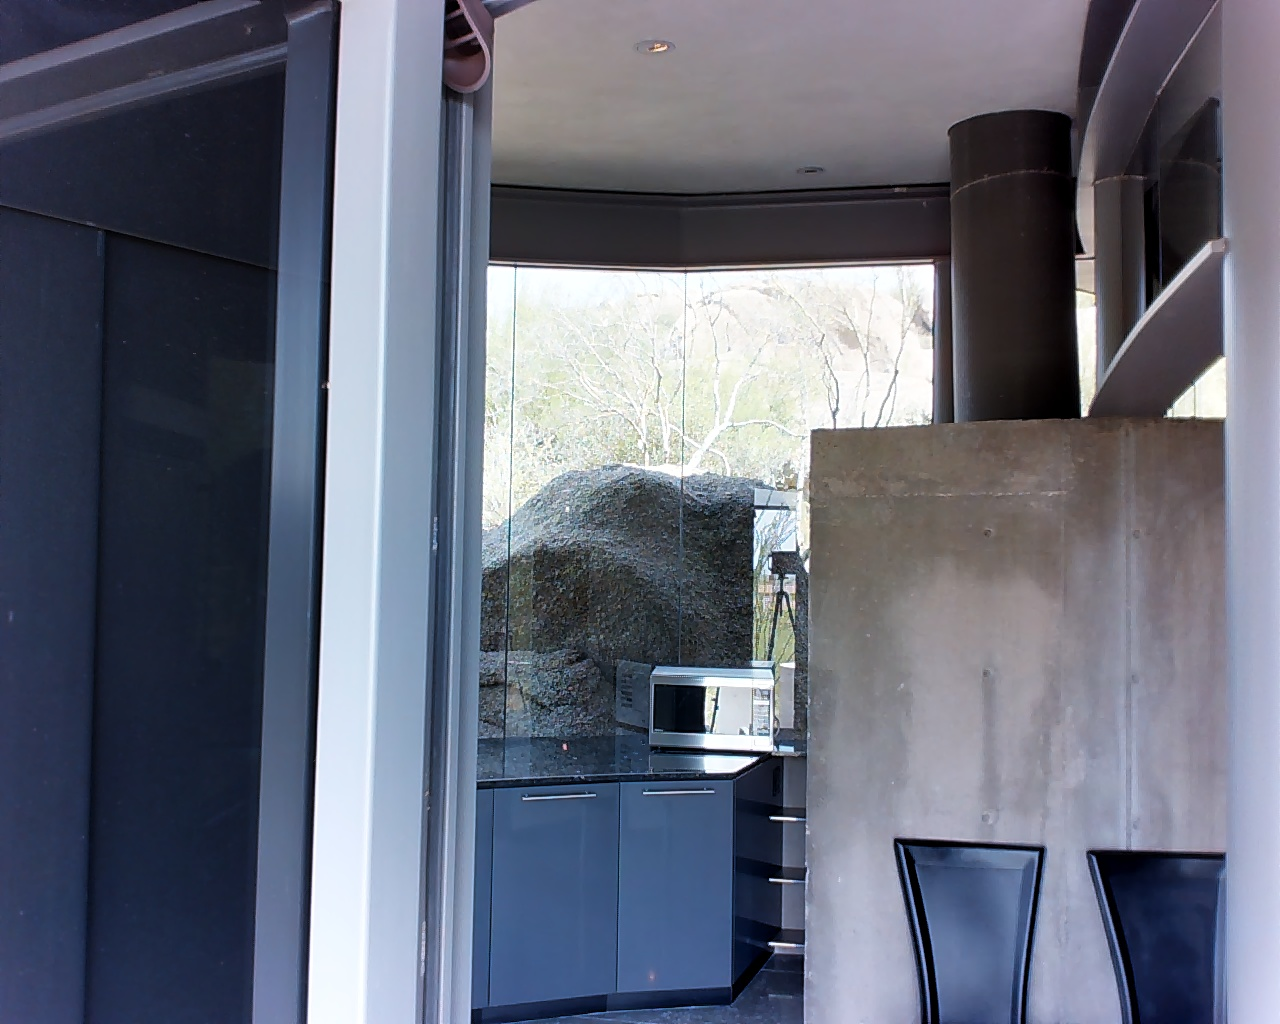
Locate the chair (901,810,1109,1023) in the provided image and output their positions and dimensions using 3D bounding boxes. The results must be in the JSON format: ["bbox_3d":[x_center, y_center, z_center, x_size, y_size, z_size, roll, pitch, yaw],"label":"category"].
[{"bbox_3d":[0.920,1.290,2.780,0.430,0.870,0.550,0,-2,10],"label":"chair"}]
